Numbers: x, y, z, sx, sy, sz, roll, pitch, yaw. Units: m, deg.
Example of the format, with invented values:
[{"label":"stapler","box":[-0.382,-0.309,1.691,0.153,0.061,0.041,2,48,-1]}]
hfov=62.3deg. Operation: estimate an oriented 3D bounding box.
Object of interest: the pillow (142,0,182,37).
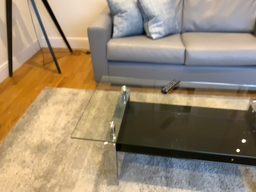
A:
[{"label":"pillow","box":[0.350,-0.810,2.120,0.150,0.390,0.480,12,15,39]}]

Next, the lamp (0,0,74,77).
[{"label":"lamp","box":[-1.070,-1.070,2.300,0.480,1.560,0.690,4,35,8]}]
